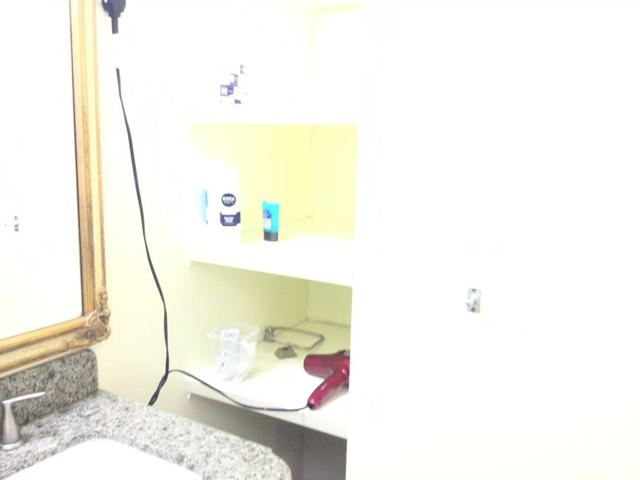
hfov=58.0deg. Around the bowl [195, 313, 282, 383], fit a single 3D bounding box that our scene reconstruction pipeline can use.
[{"bbox_3d":[-0.220,0.290,1.580,0.180,0.120,0.150,6,11,29],"label":"bowl"}]
